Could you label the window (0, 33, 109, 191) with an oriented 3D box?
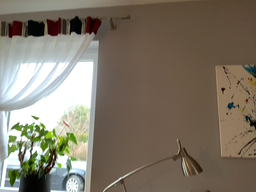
[{"bbox_3d":[-0.820,0.220,1.820,1.240,1.540,0.150,0,-11,7],"label":"window"}]
